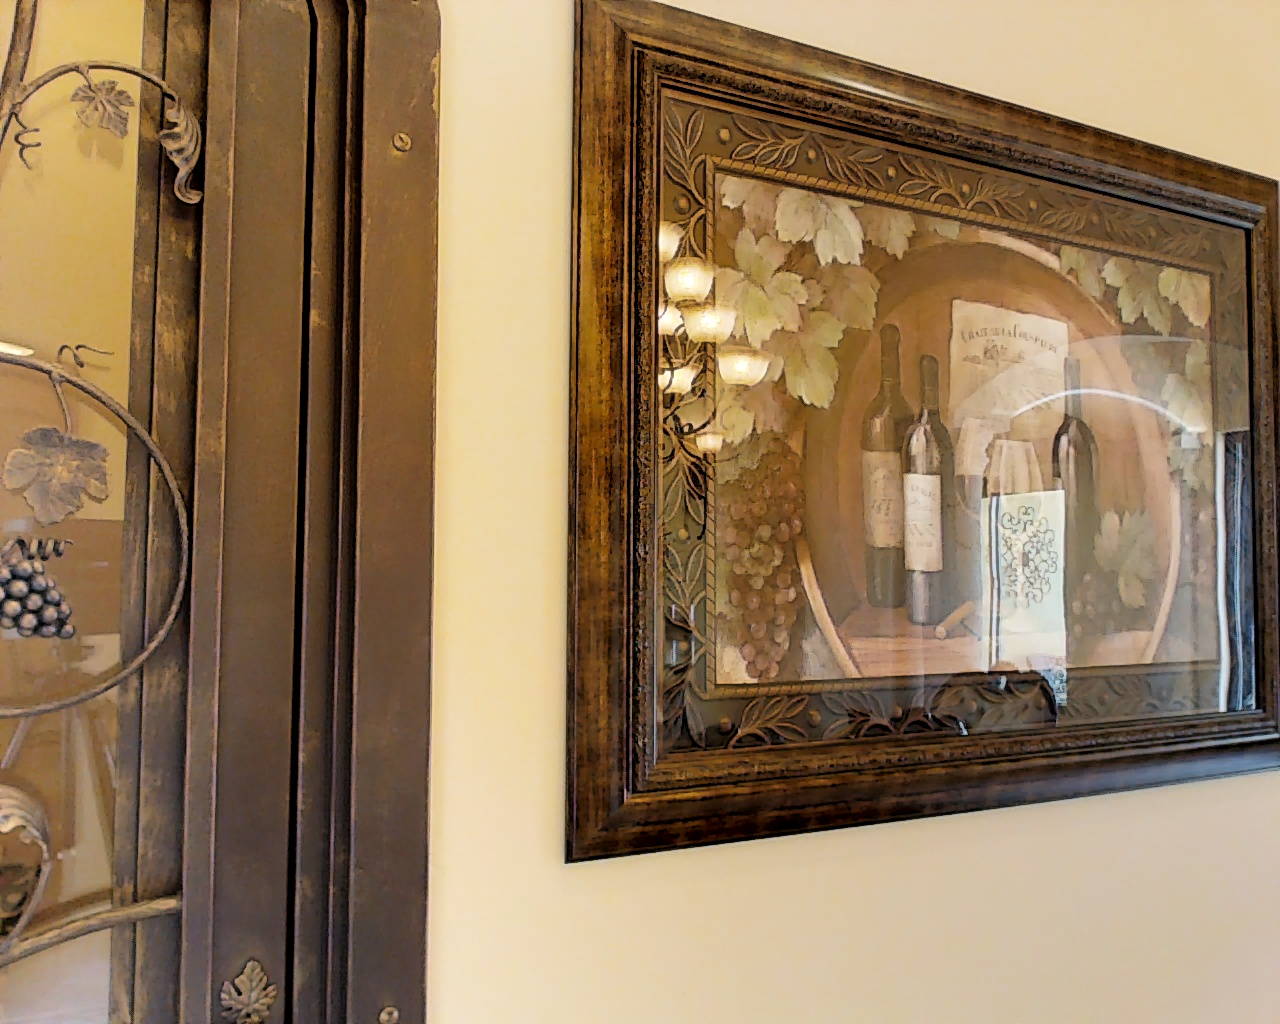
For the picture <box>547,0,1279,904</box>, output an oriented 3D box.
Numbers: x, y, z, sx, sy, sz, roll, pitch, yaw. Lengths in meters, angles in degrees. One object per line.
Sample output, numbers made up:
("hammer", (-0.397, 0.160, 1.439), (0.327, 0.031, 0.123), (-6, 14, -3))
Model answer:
("picture", (0.490, -0.080, 1.410), (1.280, 1.000, 0.050), (3, -4, -28))
